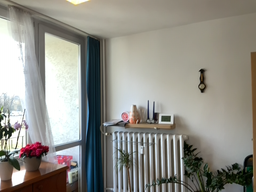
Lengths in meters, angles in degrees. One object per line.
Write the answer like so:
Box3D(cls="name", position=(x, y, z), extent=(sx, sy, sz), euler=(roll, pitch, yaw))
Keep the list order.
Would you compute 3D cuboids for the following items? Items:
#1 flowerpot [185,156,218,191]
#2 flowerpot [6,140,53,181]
Box3D(cls="flowerpot", position=(0.850, 1.140, 2.430), extent=(0.290, 0.750, 0.450), euler=(-1, -1, 27))
Box3D(cls="flowerpot", position=(-0.960, 0.610, 2.080), extent=(0.260, 0.280, 0.330), euler=(-1, -1, 29))
